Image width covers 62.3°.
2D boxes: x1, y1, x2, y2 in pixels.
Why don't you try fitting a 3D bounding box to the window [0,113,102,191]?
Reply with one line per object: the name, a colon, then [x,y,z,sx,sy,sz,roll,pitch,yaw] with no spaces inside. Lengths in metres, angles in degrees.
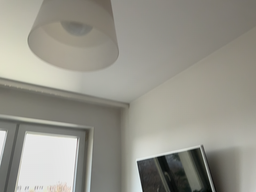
window: [-1.050,0.920,1.850,1.640,1.510,0.150,12,-25,-27]
